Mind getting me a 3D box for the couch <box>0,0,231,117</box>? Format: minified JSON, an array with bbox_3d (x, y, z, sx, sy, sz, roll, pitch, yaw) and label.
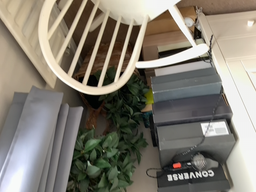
[{"bbox_3d":[-0.060,-0.420,0.850,0.540,0.720,0.500,-28,134,31],"label":"couch"}]
